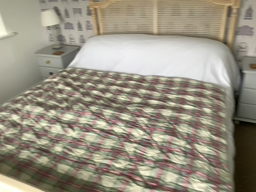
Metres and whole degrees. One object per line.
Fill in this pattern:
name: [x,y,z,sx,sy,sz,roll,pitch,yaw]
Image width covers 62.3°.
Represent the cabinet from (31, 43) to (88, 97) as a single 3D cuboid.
cabinet: [-0.930,-0.380,2.980,0.460,0.580,0.470,9,33,21]
